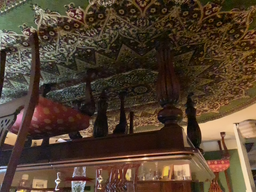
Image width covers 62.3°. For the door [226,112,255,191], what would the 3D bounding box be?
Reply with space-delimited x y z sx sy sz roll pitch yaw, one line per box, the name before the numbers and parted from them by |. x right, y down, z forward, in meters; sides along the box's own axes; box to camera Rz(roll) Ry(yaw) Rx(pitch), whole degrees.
door | 1.530 1.310 2.590 0.080 2.080 0.910 -15 150 28
